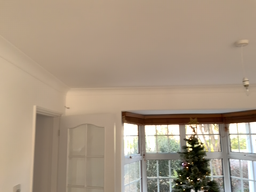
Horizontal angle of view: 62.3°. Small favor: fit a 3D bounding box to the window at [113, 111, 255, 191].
[{"bbox_3d":[0.950,1.100,3.390,2.310,1.610,0.870,-1,-9,1],"label":"window"}]
